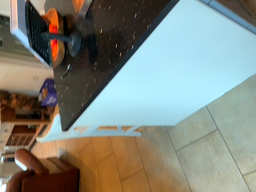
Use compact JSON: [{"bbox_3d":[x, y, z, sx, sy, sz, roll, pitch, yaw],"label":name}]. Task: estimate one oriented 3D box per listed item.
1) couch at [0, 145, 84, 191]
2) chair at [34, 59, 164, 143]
[{"bbox_3d":[-1.310,1.380,2.910,1.060,0.950,1.200,-5,82,51],"label":"couch"},{"bbox_3d":[-0.220,0.070,1.720,0.380,0.900,0.440,-43,54,40],"label":"chair"}]
